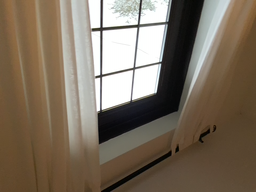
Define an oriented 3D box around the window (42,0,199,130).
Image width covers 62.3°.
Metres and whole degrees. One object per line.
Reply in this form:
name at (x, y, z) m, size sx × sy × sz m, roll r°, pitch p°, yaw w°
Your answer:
window at (0.040, -0.530, 1.000) m, size 0.860 × 1.350 × 0.100 m, roll -17°, pitch -142°, yaw -32°
